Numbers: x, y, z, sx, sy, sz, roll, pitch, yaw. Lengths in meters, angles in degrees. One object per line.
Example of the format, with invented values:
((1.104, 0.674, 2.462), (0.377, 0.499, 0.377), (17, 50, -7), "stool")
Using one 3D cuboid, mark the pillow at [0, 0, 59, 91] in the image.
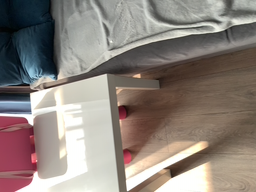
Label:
((-0.560, -0.360, 1.040), (0.420, 0.170, 0.650), (-4, 89, 34), "pillow")
